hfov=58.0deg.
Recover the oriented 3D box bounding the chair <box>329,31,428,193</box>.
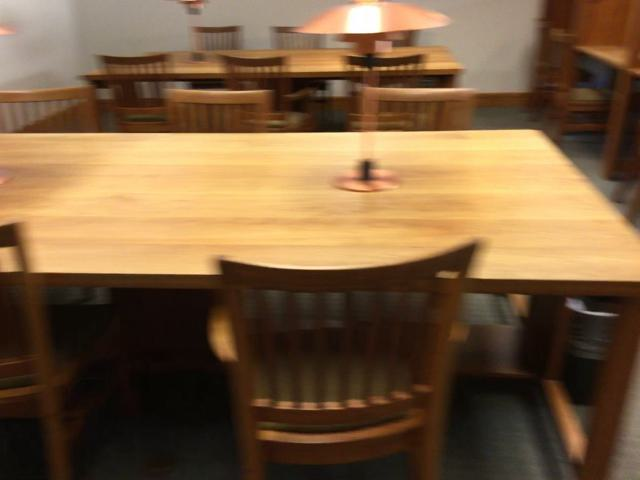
[{"bbox_3d":[0.410,-0.870,3.900,0.580,0.920,0.640,0,27,8],"label":"chair"}]

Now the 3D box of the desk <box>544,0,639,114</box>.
[{"bbox_3d":[2.500,-1.870,4.880,0.820,1.340,1.000,0,27,8],"label":"desk"}]

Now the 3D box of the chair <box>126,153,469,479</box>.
[{"bbox_3d":[0.020,0.340,1.430,0.570,0.940,0.620,0,27,8],"label":"chair"}]

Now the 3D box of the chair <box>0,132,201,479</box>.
[{"bbox_3d":[-0.830,0.270,1.620,0.660,0.960,0.670,0,27,8],"label":"chair"}]

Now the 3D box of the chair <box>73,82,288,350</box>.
[{"bbox_3d":[-0.510,-0.130,2.490,0.540,0.910,0.740,0,27,8],"label":"chair"}]

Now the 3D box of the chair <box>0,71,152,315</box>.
[{"bbox_3d":[-1.330,-0.230,2.720,0.680,0.960,0.630,0,27,8],"label":"chair"}]

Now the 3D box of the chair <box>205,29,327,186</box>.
[{"bbox_3d":[-0.330,-0.930,4.040,0.640,0.930,0.620,0,27,8],"label":"chair"}]

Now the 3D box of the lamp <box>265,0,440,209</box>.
[{"bbox_3d":[0.120,-0.430,1.750,0.440,0.550,0.400,0,27,8],"label":"lamp"}]

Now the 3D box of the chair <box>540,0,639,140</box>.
[{"bbox_3d":[2.110,-1.290,4.370,0.650,0.920,0.550,0,27,8],"label":"chair"}]

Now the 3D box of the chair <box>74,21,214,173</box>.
[{"bbox_3d":[-1.250,-1.070,4.300,0.620,0.940,0.680,0,27,8],"label":"chair"}]
